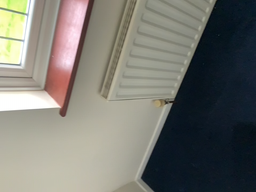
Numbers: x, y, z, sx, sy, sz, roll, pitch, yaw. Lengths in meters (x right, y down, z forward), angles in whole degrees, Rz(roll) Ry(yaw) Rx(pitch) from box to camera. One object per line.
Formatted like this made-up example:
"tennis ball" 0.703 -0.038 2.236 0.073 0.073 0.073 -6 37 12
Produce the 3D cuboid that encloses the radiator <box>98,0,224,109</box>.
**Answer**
"radiator" 0.250 -0.380 1.070 0.050 0.660 0.940 35 115 37
